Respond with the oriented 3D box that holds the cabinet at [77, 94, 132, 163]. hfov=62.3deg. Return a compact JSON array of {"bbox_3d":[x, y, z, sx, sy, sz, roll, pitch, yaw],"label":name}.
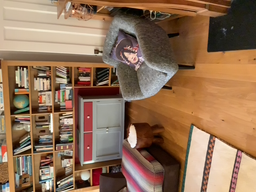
[{"bbox_3d":[-0.440,0.550,3.920,0.460,0.900,1.120,-162,72,-65],"label":"cabinet"}]
